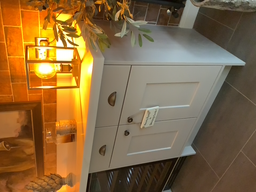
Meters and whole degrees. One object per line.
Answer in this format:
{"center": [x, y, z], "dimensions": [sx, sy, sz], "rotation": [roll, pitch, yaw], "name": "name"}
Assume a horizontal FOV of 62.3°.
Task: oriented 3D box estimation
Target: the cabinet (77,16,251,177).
{"center": [0.140, -0.010, 1.550], "dimensions": [0.610, 0.870, 0.860], "rotation": [-120, 34, -47], "name": "cabinet"}
